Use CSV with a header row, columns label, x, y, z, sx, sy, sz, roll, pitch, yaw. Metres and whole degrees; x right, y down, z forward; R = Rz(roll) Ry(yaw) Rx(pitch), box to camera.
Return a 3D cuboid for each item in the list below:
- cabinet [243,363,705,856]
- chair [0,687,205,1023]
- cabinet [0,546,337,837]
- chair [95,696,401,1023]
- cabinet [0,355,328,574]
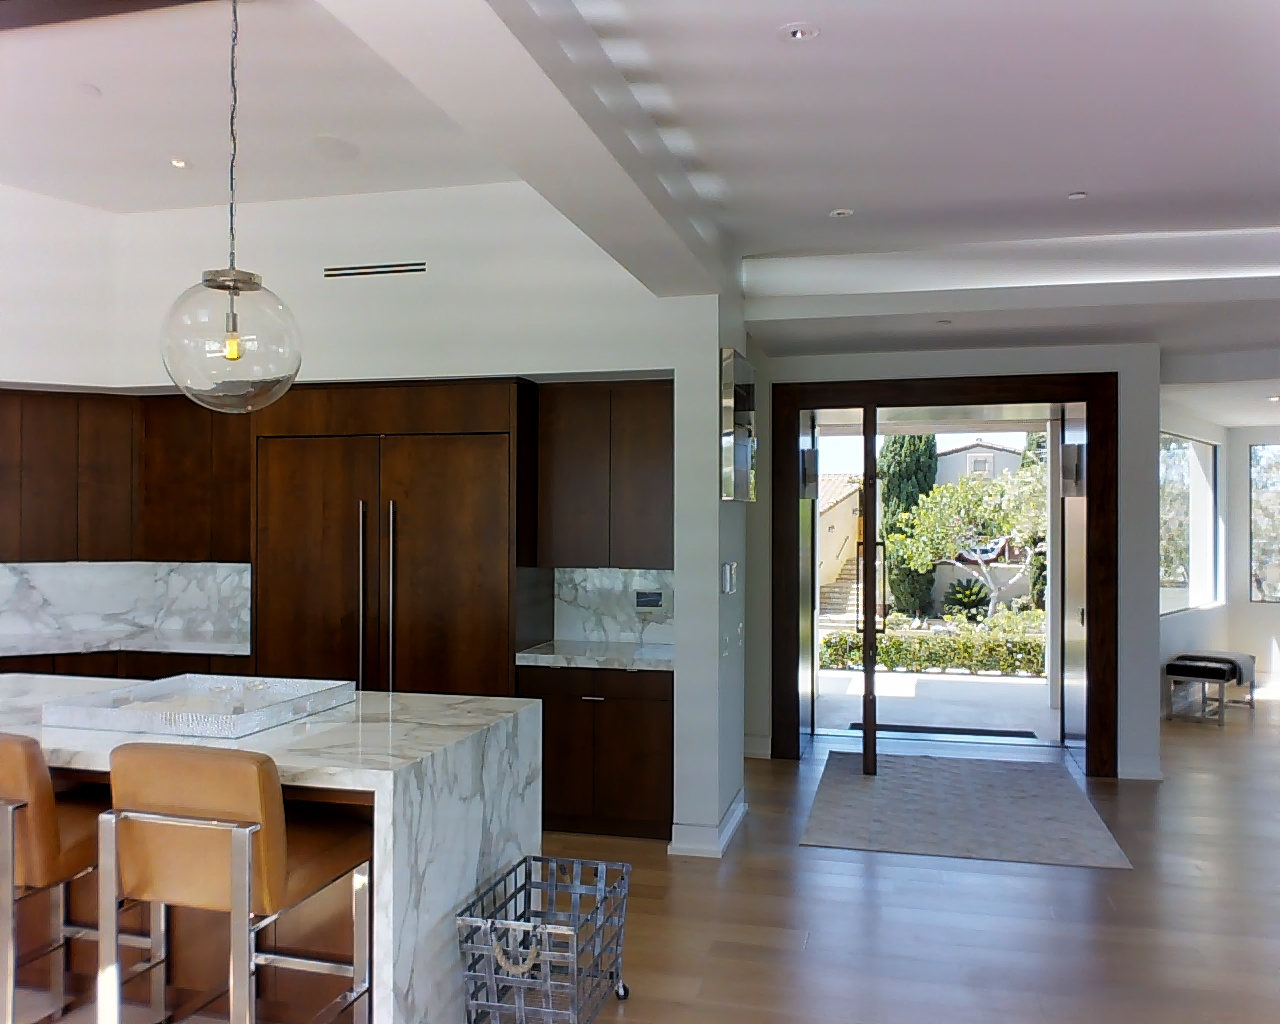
label,x,y,z,sx,sy,sz,roll,pitch,yaw
cabinet,-0.930,0.490,6.070,2.500,2.480,0.710,0,0,14
chair,-1.800,1.110,3.270,0.610,1.030,0.670,0,0,14
cabinet,-4.060,0.940,5.710,4.540,1.410,1.300,0,0,-30
chair,-1.090,1.120,3.090,0.550,1.050,0.660,0,0,14
cabinet,-2.950,-0.240,6.370,1.850,1.110,1.320,0,0,-30
